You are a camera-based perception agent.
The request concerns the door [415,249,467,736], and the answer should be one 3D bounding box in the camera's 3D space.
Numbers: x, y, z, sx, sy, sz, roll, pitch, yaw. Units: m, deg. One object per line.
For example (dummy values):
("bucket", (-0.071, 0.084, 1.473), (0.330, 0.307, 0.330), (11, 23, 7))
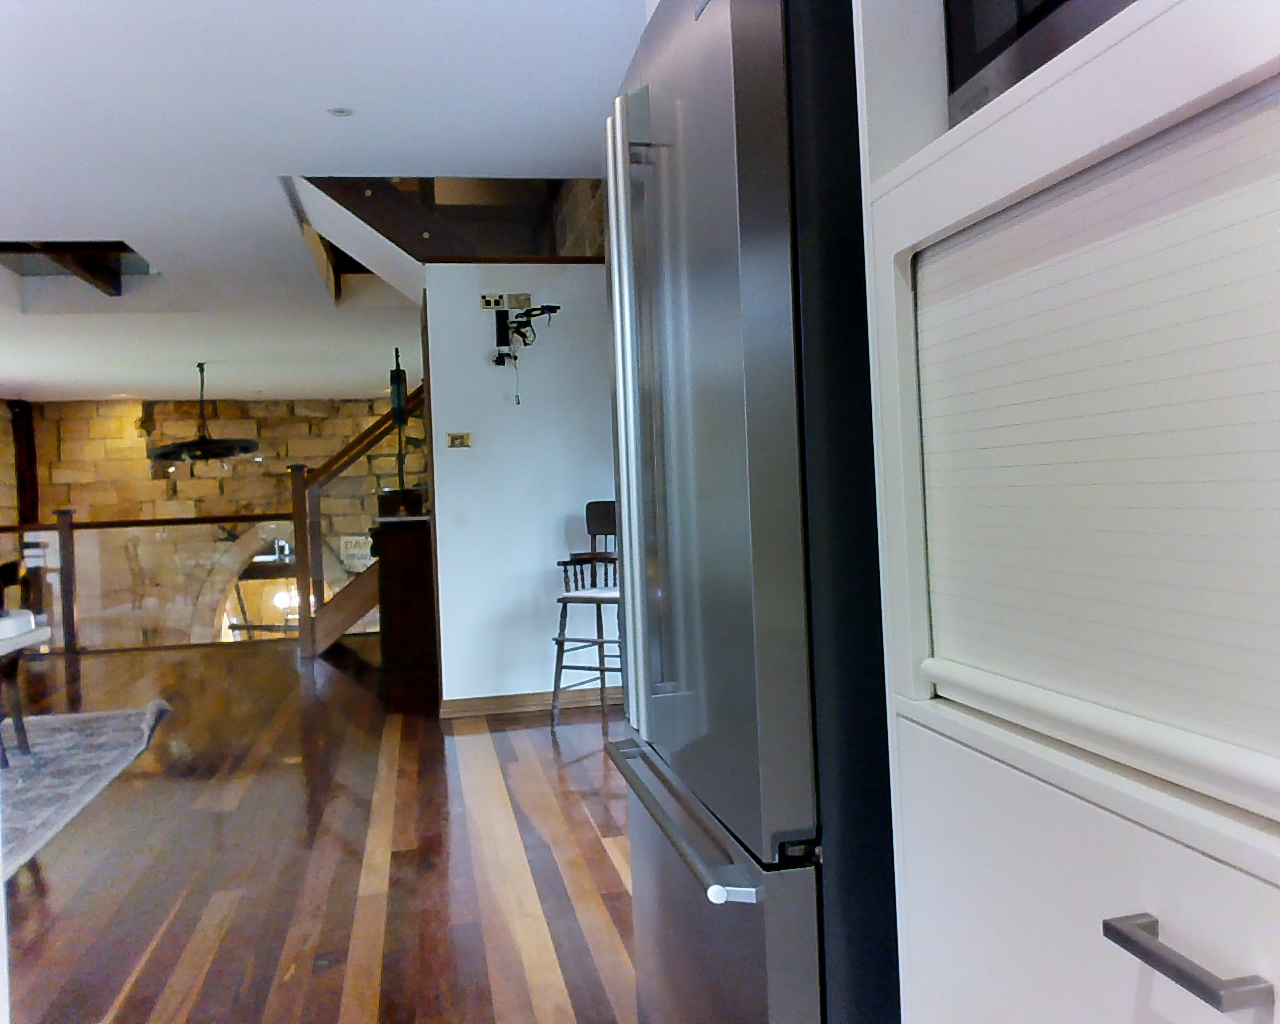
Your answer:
("door", (-1.099, -0.100, 5.940), (0.160, 2.401, 1.240), (-2, 1, -11))
